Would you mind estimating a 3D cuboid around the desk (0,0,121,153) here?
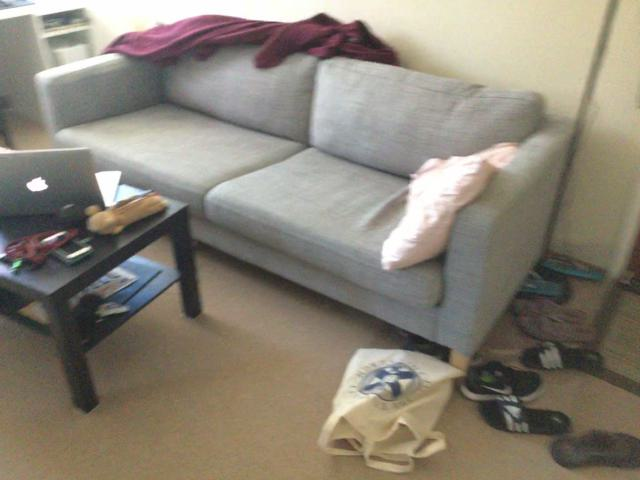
[{"bbox_3d":[-2.030,-0.970,3.110,0.840,0.820,1.530,23,38,29],"label":"desk"}]
